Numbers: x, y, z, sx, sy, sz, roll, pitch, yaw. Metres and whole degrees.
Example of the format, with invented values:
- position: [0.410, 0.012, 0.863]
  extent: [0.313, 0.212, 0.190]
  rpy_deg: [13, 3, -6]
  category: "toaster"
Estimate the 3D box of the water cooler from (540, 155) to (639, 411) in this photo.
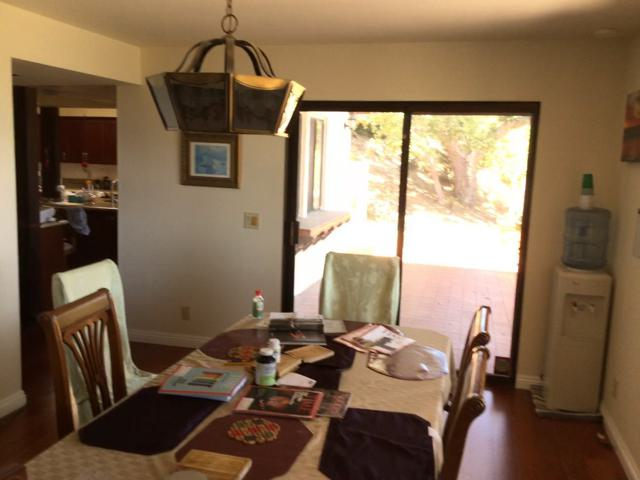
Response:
- position: [1.690, 0.250, 3.680]
  extent: [0.350, 1.550, 0.370]
  rpy_deg: [5, 8, 14]
  category: "water cooler"
